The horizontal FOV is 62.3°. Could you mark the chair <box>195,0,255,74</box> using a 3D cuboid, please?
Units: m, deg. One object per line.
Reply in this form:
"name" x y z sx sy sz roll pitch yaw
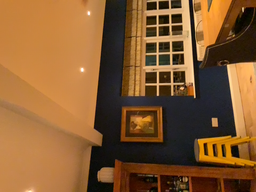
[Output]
"chair" 1.200 -0.600 2.140 0.510 0.900 0.560 71 -160 -66
